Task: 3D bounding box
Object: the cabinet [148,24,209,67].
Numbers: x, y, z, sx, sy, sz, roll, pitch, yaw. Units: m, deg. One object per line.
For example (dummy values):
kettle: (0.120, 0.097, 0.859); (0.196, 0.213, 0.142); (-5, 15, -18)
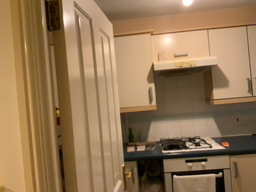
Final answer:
cabinet: (0.540, -0.550, 2.370); (0.590, 0.360, 0.320); (-5, 0, 2)
